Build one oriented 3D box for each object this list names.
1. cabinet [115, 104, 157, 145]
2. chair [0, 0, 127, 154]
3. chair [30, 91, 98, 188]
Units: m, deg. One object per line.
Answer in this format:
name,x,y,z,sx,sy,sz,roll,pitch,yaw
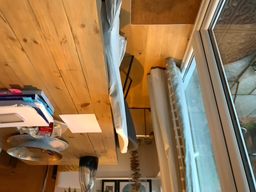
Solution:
cabinet,0.090,0.410,2.990,0.540,0.430,0.440,0,151,-2
chair,-0.310,-0.190,1.380,0.590,0.990,0.490,-1,151,0
chair,-0.700,0.540,2.590,0.540,1.010,0.650,0,151,-2
